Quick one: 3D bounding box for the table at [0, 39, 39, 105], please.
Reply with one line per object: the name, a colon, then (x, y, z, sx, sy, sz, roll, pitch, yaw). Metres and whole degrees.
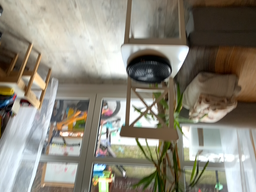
table: (-1.300, -0.230, 2.090, 0.560, 0.470, 0.450, 2, 151, 3)
